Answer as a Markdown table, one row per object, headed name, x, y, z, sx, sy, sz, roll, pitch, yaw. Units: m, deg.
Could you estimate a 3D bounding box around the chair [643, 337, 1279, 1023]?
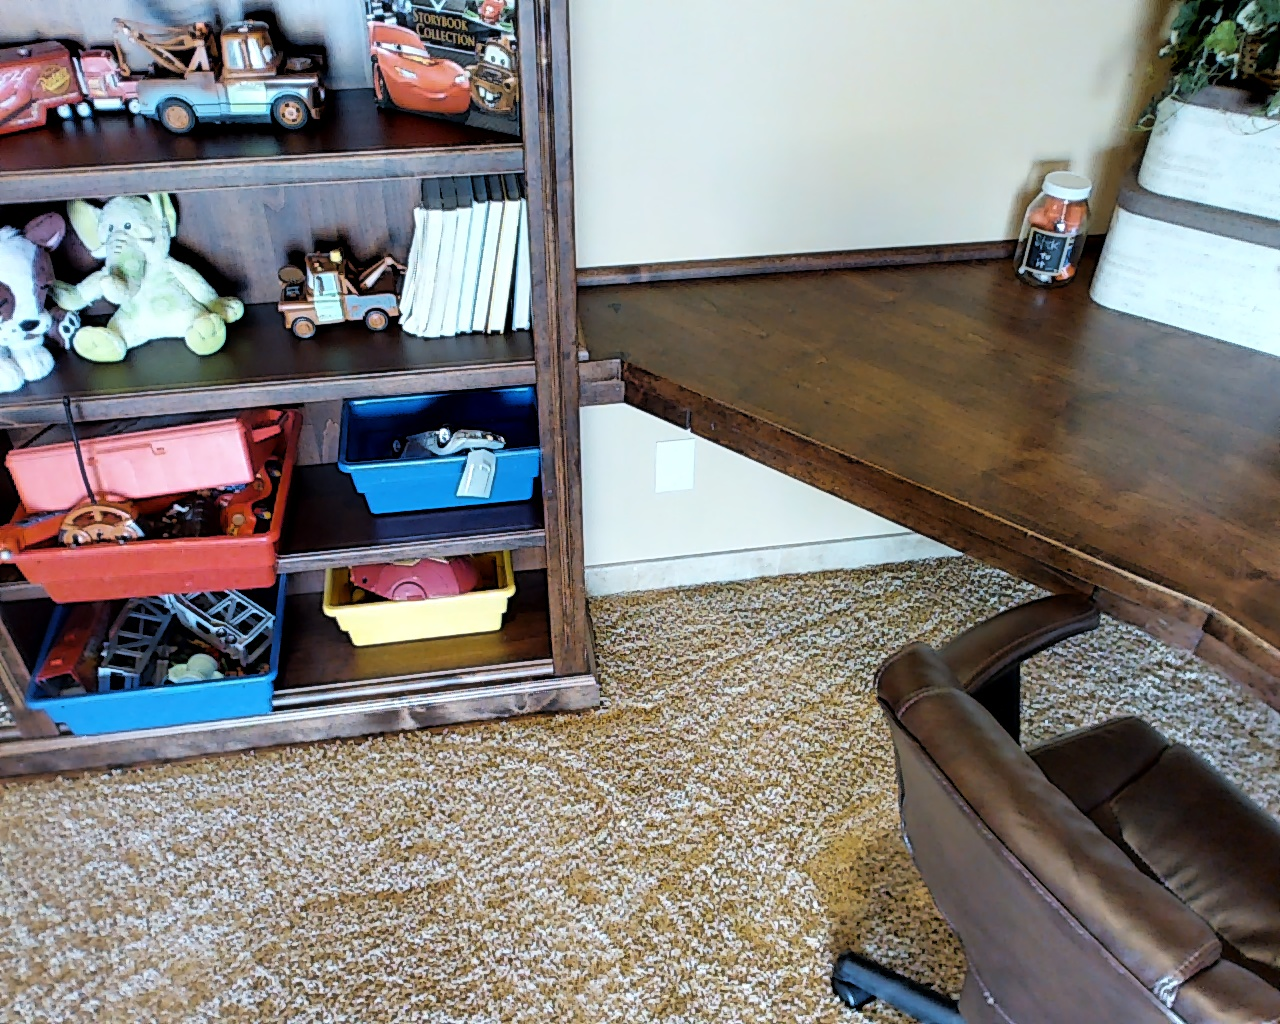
| name | x | y | z | sx | sy | sz | roll | pitch | yaw |
| --- | --- | --- | --- | --- | --- | --- | --- | --- | --- |
| chair | 0.530 | 0.470 | 1.140 | 0.710 | 0.880 | 0.770 | -31 | 50 | -31 |
